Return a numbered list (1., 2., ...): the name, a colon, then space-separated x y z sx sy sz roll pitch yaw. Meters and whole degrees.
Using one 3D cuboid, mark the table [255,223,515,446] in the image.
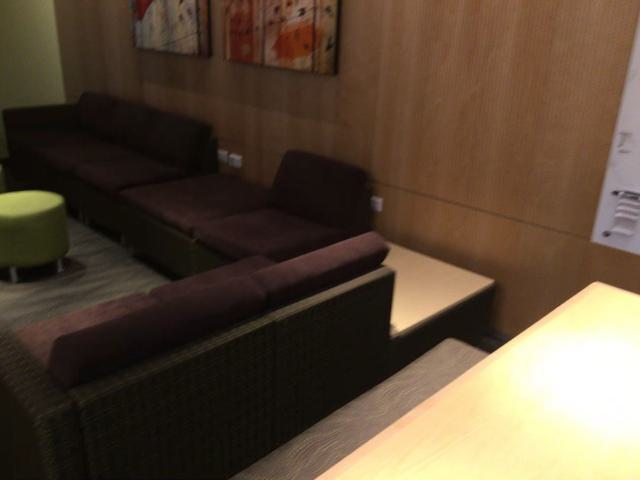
1. table: 0.290 0.350 2.640 0.790 0.500 0.800 25 26 35
